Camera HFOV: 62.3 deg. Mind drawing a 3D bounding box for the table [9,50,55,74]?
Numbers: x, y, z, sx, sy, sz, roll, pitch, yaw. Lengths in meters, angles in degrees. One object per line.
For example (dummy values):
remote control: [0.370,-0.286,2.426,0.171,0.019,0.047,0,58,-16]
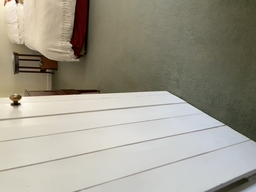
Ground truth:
table: [-1.800,-0.640,3.990,0.390,0.720,0.380,23,112,54]
